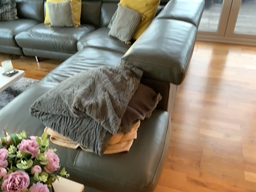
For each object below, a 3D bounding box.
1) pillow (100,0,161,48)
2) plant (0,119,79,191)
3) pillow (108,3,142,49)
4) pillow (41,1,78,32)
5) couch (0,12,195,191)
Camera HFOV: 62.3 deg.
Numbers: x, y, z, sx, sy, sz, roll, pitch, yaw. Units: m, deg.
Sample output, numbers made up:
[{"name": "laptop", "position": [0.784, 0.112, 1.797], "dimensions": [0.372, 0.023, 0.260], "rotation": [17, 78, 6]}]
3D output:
[{"name": "pillow", "position": [0.040, -0.770, 2.160], "dimensions": [0.530, 0.520, 0.110], "rotation": [36, 90, 24]}, {"name": "plant", "position": [-0.400, 0.310, 0.700], "dimensions": [0.310, 0.300, 0.320], "rotation": [9, 37, 14]}, {"name": "pillow", "position": [-0.020, -0.700, 2.140], "dimensions": [0.130, 0.350, 0.280], "rotation": [-42, 63, -13]}, {"name": "pillow", "position": [-0.770, -0.910, 2.420], "dimensions": [0.300, 0.290, 0.140], "rotation": [8, 50, 13]}, {"name": "couch", "position": [-0.160, -0.010, 1.510], "dimensions": [1.040, 0.740, 1.330], "rotation": [9, 38, 15]}]
